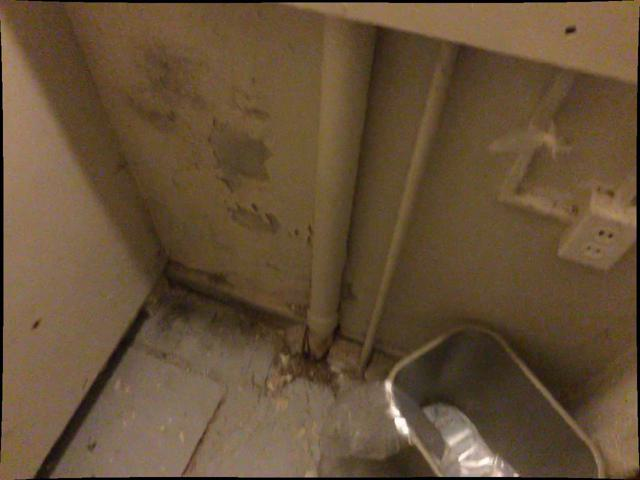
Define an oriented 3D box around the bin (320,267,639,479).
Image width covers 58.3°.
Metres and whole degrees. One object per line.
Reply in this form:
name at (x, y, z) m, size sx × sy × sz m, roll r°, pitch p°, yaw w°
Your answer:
bin at (0.280, 0.400, 1.160) m, size 0.370 × 0.390 × 0.450 m, roll -28°, pitch 65°, yaw -16°
